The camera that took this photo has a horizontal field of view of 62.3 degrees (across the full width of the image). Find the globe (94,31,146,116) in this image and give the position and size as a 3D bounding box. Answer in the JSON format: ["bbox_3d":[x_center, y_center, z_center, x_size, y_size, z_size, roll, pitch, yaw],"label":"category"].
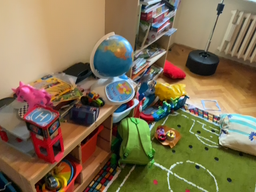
[{"bbox_3d":[-0.060,-0.140,1.370,0.200,0.450,0.240,26,41,23],"label":"globe"}]

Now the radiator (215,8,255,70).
[{"bbox_3d":[1.590,-0.720,2.750,0.650,0.630,0.200,26,41,23],"label":"radiator"}]
